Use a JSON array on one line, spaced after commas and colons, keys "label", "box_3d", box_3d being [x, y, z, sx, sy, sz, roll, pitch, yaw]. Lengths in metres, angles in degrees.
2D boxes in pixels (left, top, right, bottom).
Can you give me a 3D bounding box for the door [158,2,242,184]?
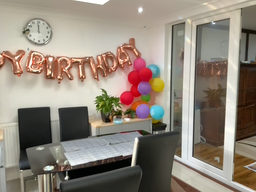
[{"label": "door", "box_3d": [0.970, -0.050, 3.290, 0.070, 2.300, 1.440, -5, 8, -32]}]
